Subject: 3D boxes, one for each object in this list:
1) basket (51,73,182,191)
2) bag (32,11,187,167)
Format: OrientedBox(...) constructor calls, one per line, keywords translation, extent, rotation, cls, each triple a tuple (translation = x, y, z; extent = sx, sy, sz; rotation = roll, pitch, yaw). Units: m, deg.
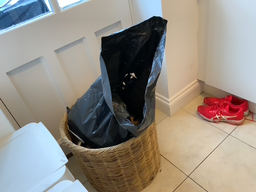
OrientedBox(translation=(-0.060, 0.230, 1.230), extent=(0.450, 0.410, 0.550), rotation=(-32, 42, -23), cls="basket")
OrientedBox(translation=(-0.070, -0.080, 0.950), extent=(0.410, 0.400, 0.490), rotation=(-33, 42, -24), cls="bag")
